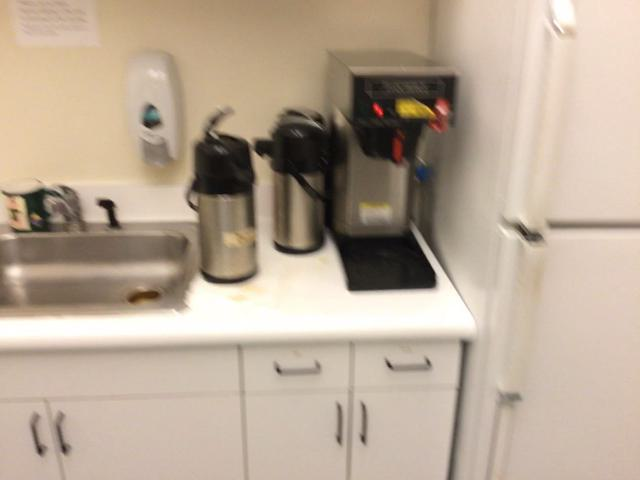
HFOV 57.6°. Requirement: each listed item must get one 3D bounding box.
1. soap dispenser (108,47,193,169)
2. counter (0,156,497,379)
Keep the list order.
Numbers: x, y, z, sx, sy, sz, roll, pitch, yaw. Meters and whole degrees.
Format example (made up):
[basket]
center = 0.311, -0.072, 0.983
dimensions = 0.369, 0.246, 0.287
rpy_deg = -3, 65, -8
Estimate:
[soap dispenser]
center = -0.440, -0.350, 1.540
dimensions = 0.170, 0.300, 0.110
rpy_deg = -1, 22, -4
[counter]
center = -0.590, 0.020, 1.390
dimensions = 1.800, 0.260, 0.670
rpy_deg = -1, 22, -4
